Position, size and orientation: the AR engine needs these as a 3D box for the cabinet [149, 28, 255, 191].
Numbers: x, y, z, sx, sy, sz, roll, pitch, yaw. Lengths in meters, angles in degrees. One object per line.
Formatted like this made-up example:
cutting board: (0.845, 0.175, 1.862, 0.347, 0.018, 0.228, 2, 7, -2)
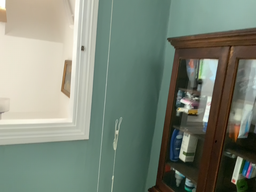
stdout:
cabinet: (0.360, 0.170, 0.850, 0.170, 0.800, 0.620, -1, -170, -29)
